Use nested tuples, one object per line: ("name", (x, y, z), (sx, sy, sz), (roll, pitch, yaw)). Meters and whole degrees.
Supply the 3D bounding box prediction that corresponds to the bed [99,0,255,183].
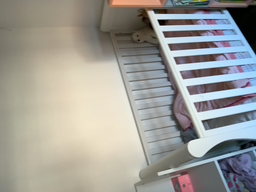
("bed", (0.480, -0.240, 1.720), (0.750, 1.070, 1.460), (117, 141, -58))
